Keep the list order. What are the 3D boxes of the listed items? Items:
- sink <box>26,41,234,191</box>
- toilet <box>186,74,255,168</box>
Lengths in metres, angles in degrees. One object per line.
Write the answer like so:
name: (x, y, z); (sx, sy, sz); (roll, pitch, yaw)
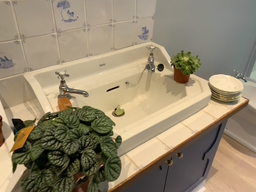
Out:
sink: (0.020, 0.010, 0.960); (0.730, 0.260, 0.480); (-21, 40, -31)
toilet: (0.880, 0.160, 1.730); (0.390, 0.370, 0.630); (-21, 40, -31)
